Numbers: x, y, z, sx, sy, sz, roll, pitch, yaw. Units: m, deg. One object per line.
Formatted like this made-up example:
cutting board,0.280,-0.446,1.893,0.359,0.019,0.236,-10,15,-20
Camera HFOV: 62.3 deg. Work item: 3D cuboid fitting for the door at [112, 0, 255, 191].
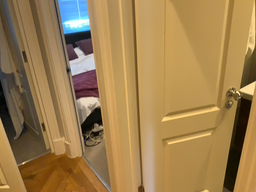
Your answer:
door,0.330,-0.040,1.120,0.740,1.950,0.050,-9,25,-10
